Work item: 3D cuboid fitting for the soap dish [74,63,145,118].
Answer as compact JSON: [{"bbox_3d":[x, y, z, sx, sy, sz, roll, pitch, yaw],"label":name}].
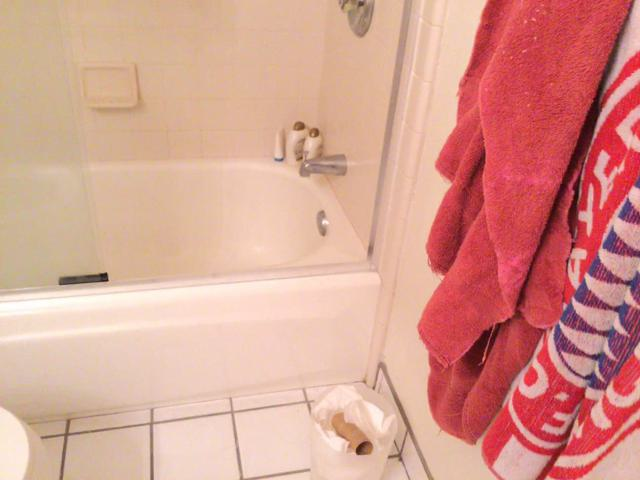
[{"bbox_3d":[-0.640,-0.460,1.770,0.180,0.140,0.080,-5,32,-12],"label":"soap dish"}]
